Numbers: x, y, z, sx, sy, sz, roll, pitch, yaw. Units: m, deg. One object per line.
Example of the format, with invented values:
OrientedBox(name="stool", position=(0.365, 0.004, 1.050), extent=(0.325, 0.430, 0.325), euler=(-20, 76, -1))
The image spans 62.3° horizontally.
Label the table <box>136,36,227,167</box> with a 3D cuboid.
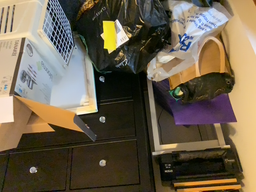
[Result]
OrientedBox(name="table", position=(0.310, 0.050, 1.450), extent=(0.400, 0.740, 0.420), euler=(-8, 152, 6))
